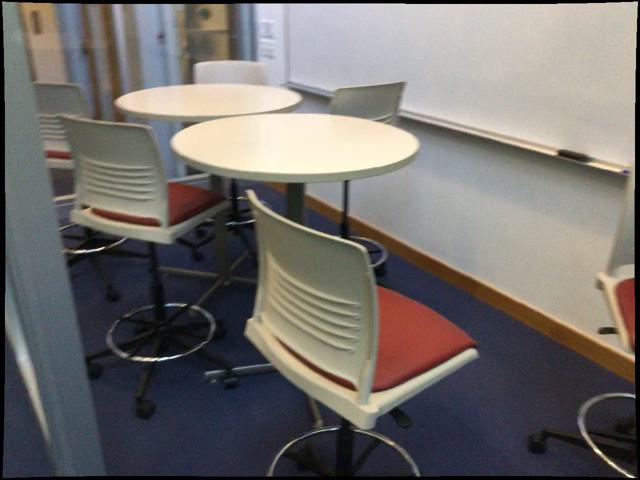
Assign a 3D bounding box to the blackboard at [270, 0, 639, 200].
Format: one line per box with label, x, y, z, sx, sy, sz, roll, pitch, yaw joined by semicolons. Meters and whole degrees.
blackboard;0.749;-0.901;2.920;0.130;0.801;3.769;-15;29;-31
